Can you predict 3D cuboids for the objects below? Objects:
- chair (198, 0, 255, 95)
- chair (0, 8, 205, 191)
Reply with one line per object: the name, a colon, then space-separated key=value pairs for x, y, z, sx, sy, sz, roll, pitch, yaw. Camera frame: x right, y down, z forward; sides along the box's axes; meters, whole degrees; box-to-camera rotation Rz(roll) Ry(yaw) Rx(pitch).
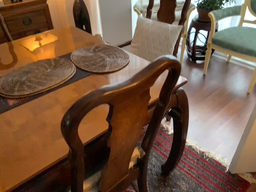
chair: x=1.170 y=-0.650 z=2.120 sx=0.540 sy=1.030 sz=0.540 roll=30 pitch=47 yaw=35
chair: x=-0.160 y=0.240 z=1.000 sx=0.530 sy=1.040 sz=0.620 roll=-29 pitch=45 yaw=-31
